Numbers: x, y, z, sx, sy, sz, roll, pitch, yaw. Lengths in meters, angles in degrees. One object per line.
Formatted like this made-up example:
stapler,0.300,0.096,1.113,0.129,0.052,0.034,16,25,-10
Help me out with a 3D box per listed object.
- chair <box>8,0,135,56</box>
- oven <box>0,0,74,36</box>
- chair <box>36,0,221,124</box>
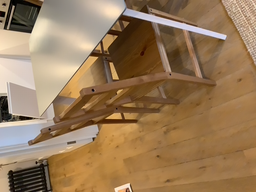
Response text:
chair,-0.450,-0.680,1.760,0.380,0.890,0.490,-27,71,48
oven,-1.310,-1.290,2.840,0.640,0.890,0.550,-33,67,47
chair,0.020,-0.200,1.210,0.420,0.870,0.520,-35,65,46
